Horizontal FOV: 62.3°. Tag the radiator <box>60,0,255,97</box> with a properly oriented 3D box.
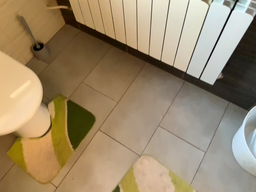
[{"bbox_3d":[0.060,-0.450,1.090,1.050,0.690,0.150,29,68,16],"label":"radiator"}]
